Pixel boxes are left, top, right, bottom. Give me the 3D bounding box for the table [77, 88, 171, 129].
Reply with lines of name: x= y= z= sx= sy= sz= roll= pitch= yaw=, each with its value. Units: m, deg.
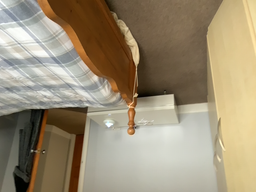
table: x=-0.020 y=0.220 z=3.090 sx=1.200 sy=0.300 sz=0.660 roll=-5 pitch=155 yaw=14
